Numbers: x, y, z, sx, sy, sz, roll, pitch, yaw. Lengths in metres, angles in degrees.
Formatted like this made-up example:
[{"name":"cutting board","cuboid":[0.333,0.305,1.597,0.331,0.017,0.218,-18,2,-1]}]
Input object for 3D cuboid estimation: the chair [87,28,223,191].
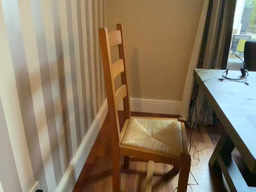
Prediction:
[{"name":"chair","cuboid":[0.110,0.140,1.320,0.560,1.000,0.530,4,23,3]}]
